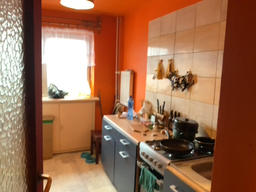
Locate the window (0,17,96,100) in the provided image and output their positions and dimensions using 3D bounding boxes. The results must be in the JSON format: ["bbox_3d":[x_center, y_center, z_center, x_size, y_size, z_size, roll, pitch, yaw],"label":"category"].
[{"bbox_3d":[-1.480,-0.600,3.700,1.760,1.290,0.330,-1,8,-22],"label":"window"}]
